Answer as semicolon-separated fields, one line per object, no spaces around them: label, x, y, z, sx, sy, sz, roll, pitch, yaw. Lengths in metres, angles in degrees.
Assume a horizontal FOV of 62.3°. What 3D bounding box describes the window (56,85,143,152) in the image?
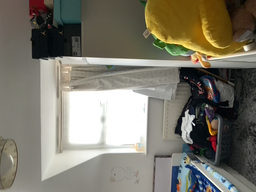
window;-0.370;0.300;2.850;0.110;1.120;0.870;-151;62;-80
